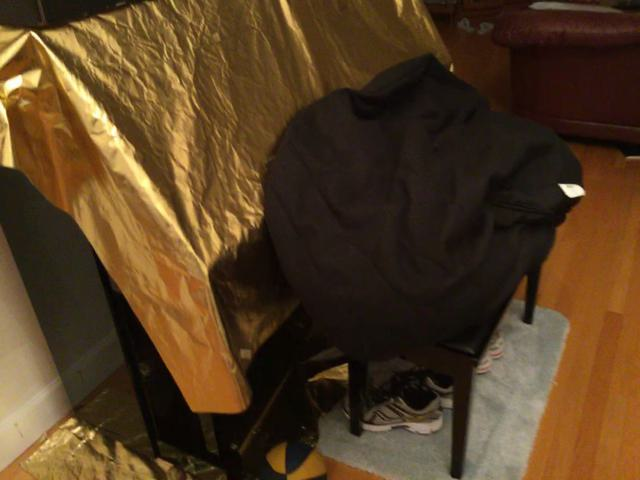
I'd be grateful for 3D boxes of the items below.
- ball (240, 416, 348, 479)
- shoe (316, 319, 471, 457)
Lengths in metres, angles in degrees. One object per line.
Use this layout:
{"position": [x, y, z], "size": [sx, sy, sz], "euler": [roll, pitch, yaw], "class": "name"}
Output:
{"position": [-0.060, 0.610, 1.480], "size": [0.190, 0.170, 0.190], "euler": [13, 36, 27], "class": "ball"}
{"position": [0.230, 0.430, 1.760], "size": [0.360, 0.110, 0.340], "euler": [13, 36, 26], "class": "shoe"}
